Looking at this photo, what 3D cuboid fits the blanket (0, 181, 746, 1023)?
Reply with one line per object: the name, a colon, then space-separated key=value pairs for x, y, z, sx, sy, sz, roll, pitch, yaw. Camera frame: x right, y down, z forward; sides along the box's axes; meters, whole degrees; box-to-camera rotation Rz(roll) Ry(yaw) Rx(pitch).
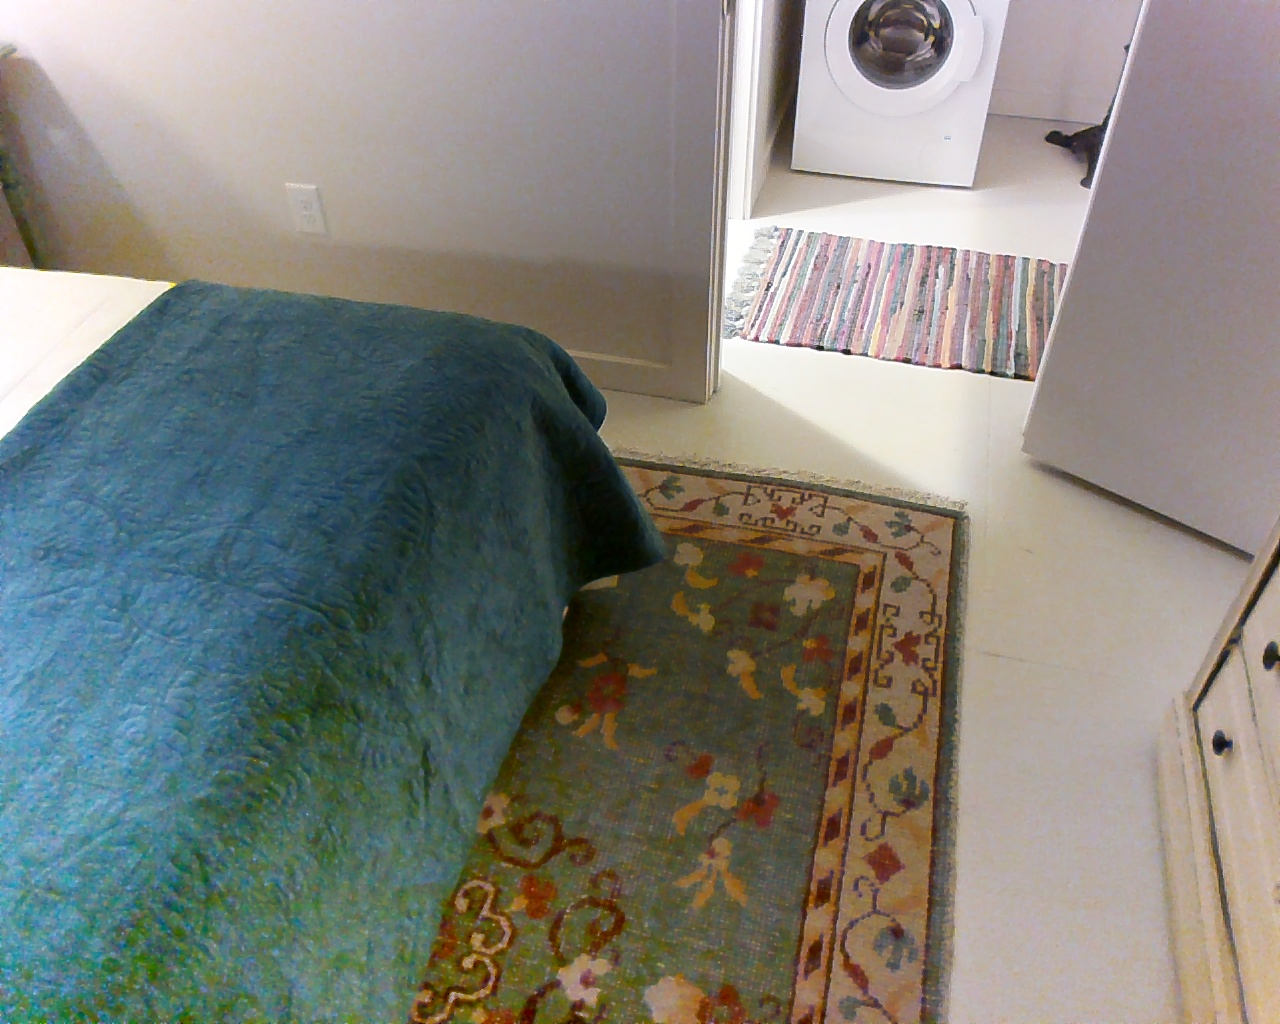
blanket: x=-0.470 y=0.250 z=1.610 sx=0.950 sy=0.650 sz=1.840 roll=8 pitch=43 yaw=10
